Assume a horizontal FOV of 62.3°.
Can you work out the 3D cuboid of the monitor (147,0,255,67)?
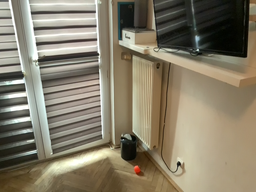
[{"bbox_3d":[0.370,-0.470,1.240,0.110,0.460,0.790,-7,20,-25],"label":"monitor"}]

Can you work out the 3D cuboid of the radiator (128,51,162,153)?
[{"bbox_3d":[0.150,0.060,2.220,0.120,0.970,0.420,-10,25,-24],"label":"radiator"}]
